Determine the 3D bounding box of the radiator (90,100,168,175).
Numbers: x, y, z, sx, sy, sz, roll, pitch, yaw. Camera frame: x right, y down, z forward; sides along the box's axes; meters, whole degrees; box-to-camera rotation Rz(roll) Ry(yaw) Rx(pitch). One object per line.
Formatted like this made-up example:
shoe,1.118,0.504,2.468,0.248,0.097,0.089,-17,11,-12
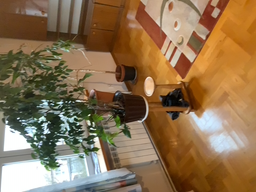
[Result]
radiator,-0.020,0.470,2.800,0.140,0.750,0.980,115,144,-42
